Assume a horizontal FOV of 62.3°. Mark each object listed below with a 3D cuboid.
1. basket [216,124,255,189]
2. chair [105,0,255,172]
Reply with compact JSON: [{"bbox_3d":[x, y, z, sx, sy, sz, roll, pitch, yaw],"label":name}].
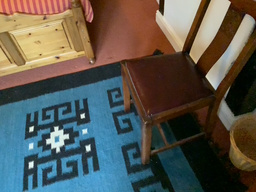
[{"bbox_3d":[0.670,0.320,1.140,0.230,0.260,0.220,-14,51,-6],"label":"basket"},{"bbox_3d":[0.250,-0.050,1.100,0.550,0.830,0.470,-13,51,-5],"label":"chair"}]
